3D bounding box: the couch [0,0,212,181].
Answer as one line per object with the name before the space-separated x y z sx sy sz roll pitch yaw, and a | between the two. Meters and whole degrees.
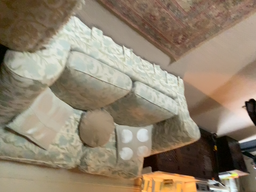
couch | -0.300 0.170 1.960 1.780 0.870 1.080 21 142 -34
